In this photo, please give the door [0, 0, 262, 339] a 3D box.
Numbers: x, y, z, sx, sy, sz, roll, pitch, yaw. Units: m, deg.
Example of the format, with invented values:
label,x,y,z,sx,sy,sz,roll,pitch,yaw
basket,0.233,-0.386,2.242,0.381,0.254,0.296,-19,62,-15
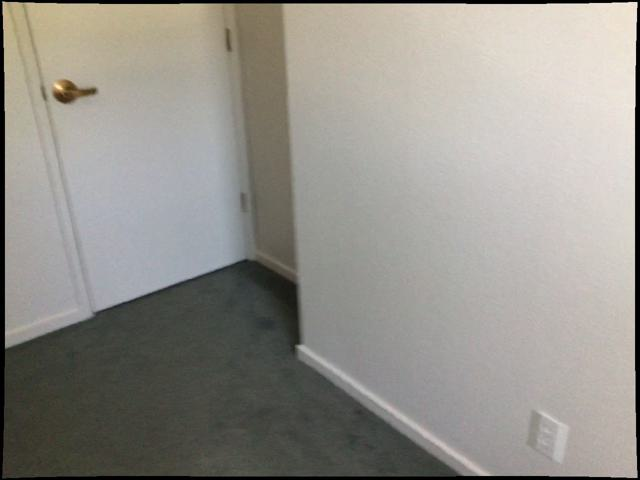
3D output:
label,x,y,z,sx,sy,sz,roll,pitch,yaw
door,-0.748,-0.461,2.420,1.009,1.563,0.080,-21,29,-36
